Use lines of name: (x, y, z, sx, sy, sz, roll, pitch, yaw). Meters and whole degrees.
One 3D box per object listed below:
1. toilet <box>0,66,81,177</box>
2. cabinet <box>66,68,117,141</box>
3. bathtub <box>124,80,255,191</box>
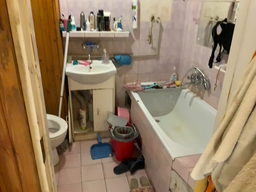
toilet: (-0.850, 0.210, 2.040, 0.630, 0.830, 0.400, 16, 27, 28)
cabinet: (-0.410, 0.090, 2.440, 0.520, 0.750, 0.300, -4, 25, -12)
bathtub: (0.470, 0.400, 2.060, 0.690, 0.560, 1.630, -3, 25, -12)
